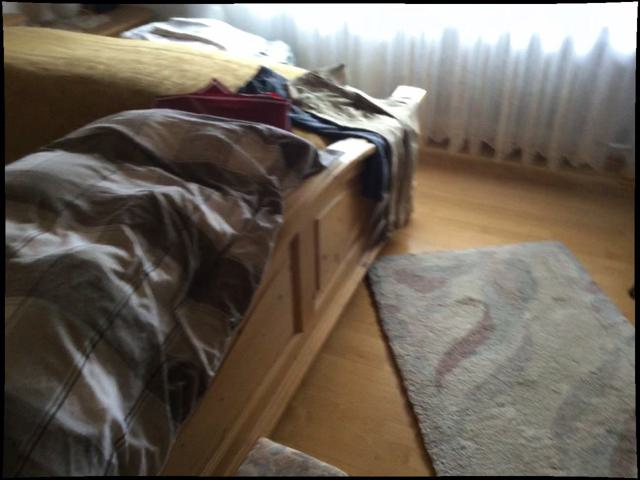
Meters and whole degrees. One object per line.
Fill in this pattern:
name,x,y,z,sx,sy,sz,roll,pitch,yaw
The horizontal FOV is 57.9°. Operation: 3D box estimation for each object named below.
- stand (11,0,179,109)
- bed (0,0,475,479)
stand,-1.189,-1.071,3.160,0.490,0.420,0.630,14,39,19
bed,-0.899,-0.170,2.010,2.268,0.801,2.400,14,39,19
